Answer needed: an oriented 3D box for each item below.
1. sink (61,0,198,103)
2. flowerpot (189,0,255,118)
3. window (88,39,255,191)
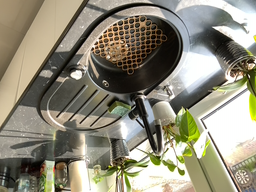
[{"bbox_3d":[0.000,-0.200,0.890,0.400,0.150,0.390,23,127,-37],"label":"sink"},{"bbox_3d":[0.520,-0.160,0.920,0.260,0.470,0.230,26,125,-39],"label":"flowerpot"},{"bbox_3d":[0.410,0.630,0.760,0.140,1.440,1.560,23,127,-37],"label":"window"}]
